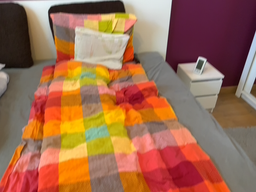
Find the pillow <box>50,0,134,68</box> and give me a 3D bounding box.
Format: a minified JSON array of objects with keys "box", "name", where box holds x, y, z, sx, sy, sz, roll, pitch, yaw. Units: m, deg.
[{"box":[-0.250,-0.460,1.580,0.540,0.420,0.190,-6,41,-9],"name":"pillow"}]
